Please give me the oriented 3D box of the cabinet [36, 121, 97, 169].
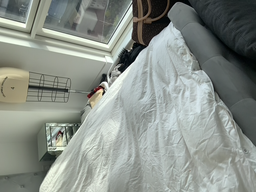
[{"bbox_3d":[-0.730,0.560,2.470,0.420,0.530,0.360,-48,50,39],"label":"cabinet"}]
